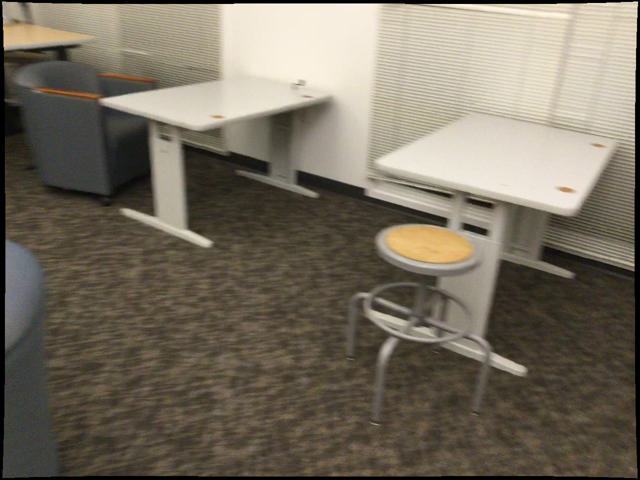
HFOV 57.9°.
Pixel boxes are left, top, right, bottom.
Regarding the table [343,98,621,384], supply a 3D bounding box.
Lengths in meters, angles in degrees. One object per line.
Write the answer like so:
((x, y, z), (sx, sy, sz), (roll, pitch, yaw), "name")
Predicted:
((0.799, -0.120, 2.730), (0.819, 0.751, 1.260), (18, 30, 26), "table")

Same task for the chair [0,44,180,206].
((-1.449, -0.761, 3.650), (0.779, 0.741, 0.790), (11, 28, 14), "chair")

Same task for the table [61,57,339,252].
((-0.659, -0.621, 3.560), (0.999, 0.701, 1.290), (18, 30, 26), "table")

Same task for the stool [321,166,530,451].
((0.360, 0.210, 2.030), (0.500, 0.741, 0.490), (16, 29, 23), "stool")
